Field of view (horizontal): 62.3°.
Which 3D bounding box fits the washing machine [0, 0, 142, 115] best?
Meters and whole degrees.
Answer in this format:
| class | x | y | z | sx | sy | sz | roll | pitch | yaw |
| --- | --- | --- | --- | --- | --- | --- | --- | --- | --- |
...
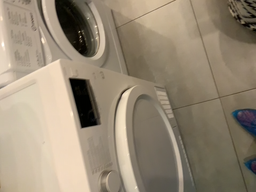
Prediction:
| class | x | y | z | sx | sy | sz | roll | pitch | yaw |
| --- | --- | --- | --- | --- | --- | --- | --- | --- | --- |
| washing machine | -0.380 | -0.260 | 1.060 | 0.500 | 0.840 | 0.590 | -18 | 81 | 23 |
